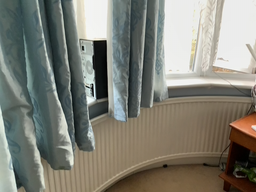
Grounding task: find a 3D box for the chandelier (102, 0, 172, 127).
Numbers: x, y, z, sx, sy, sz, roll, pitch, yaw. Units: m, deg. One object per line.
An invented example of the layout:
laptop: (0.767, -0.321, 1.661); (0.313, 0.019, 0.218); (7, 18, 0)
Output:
chandelier: (0.060, -0.610, 1.200); (0.380, 1.590, 0.170); (-13, 25, -33)
